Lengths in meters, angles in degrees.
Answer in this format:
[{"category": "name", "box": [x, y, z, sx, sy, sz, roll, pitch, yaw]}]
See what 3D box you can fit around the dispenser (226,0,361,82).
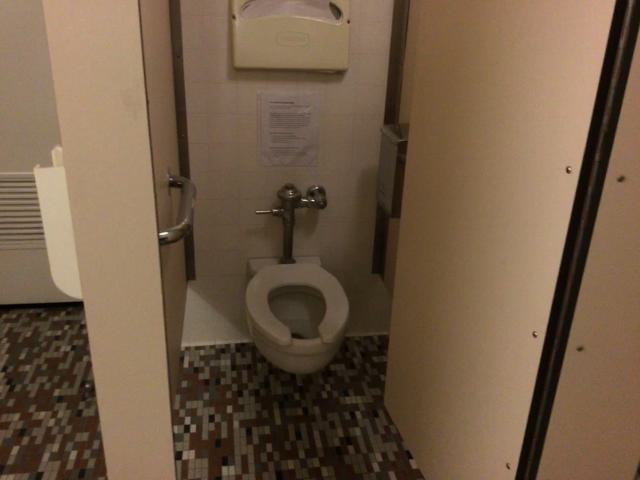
[{"category": "dispenser", "box": [-0.090, -0.740, 1.970, 0.450, 0.380, 0.070, -3, 22, -10]}]
